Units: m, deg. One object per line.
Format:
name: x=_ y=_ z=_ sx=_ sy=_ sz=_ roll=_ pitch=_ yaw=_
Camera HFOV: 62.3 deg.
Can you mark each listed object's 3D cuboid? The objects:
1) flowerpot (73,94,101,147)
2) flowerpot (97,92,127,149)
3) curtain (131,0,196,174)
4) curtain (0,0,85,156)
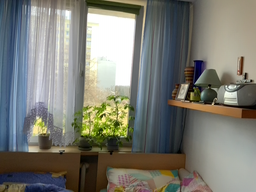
flowerpot: x=-0.460 y=0.270 z=2.360 sx=0.260 sy=0.560 sz=0.150 roll=3 pitch=1 yaw=-17
flowerpot: x=-0.190 y=0.270 z=2.430 sx=0.270 sy=0.620 sz=0.170 roll=3 pitch=1 yaw=-16
curtain: x=0.390 y=-0.130 z=2.380 sx=0.550 sy=1.940 sz=0.190 roll=4 pitch=1 yaw=-13
curtain: x=-0.940 y=-0.300 z=2.090 sx=0.920 sy=1.720 sz=0.230 roll=3 pitch=1 yaw=-16
